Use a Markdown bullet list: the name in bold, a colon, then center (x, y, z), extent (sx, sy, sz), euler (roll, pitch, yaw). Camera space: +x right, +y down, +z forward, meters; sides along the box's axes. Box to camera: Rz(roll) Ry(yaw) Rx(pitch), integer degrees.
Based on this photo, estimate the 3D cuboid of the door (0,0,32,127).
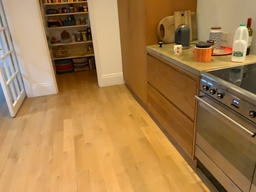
- **door**: center (-1.720, -0.730, 2.870), extent (0.140, 2.180, 0.830), euler (-8, 25, -10)
